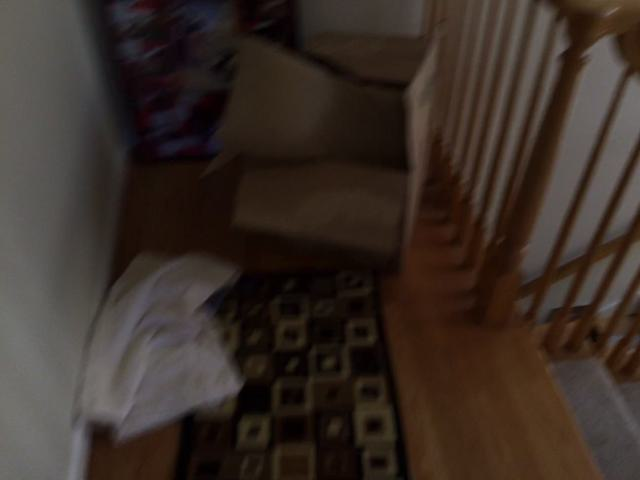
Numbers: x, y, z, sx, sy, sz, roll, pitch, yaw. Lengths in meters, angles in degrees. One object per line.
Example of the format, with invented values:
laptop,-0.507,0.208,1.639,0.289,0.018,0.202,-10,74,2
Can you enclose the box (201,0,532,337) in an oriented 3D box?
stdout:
box,0.090,-0.320,1.850,0.740,0.630,0.980,-7,45,0

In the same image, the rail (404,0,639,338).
rail,0.490,-0.450,1.740,0.260,0.980,1.080,-7,45,0

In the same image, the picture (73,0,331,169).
picture,-0.380,-0.710,1.980,0.750,0.940,0.160,-7,45,0

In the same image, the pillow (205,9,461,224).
pillow,0.030,-0.380,1.750,0.650,0.370,0.460,-7,45,0
